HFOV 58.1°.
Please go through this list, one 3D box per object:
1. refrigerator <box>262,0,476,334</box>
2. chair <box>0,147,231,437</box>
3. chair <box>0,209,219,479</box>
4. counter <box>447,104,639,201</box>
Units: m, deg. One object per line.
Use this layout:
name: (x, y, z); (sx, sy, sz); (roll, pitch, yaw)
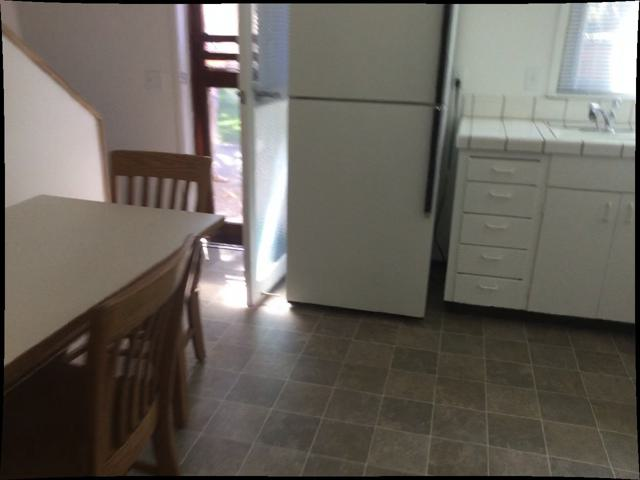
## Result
refrigerator: (0.240, -0.461, 2.920); (0.869, 1.592, 0.750); (5, 22, 10)
chair: (-0.759, 0.160, 2.210); (0.639, 0.881, 0.580); (5, 22, 10)
chair: (-0.659, 0.451, 1.430); (0.639, 0.901, 0.510); (5, 22, 10)
counter: (1.657, -0.381, 2.580); (2.107, 0.240, 0.800); (5, 22, 10)
